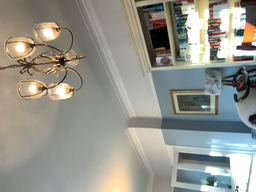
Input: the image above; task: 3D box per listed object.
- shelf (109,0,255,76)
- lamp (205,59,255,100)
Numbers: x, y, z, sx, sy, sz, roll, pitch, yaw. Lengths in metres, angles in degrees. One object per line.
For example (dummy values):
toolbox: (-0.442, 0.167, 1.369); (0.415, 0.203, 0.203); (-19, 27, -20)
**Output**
shelf: (0.940, -1.140, 2.120); (2.020, 2.280, 0.410); (69, -151, -43)
lamp: (1.740, -0.220, 2.830); (0.390, 1.330, 0.370); (68, -150, -44)
